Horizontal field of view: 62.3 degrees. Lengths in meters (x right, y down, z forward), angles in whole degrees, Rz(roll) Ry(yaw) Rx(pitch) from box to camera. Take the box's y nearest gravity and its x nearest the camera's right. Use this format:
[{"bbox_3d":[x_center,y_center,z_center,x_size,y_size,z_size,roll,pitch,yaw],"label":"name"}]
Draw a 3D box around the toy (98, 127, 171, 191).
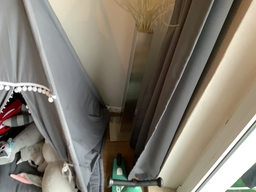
[{"bbox_3d":[0.010,0.510,1.160,0.310,0.510,0.390,12,43,0],"label":"toy"}]
